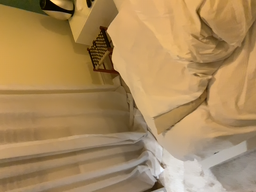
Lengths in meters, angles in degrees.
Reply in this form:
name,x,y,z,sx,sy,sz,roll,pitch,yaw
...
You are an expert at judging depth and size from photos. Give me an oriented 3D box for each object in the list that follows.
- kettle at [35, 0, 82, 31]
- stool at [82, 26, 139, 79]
name,x,y,z,sx,sy,sz,roll,pitch,yaw
kettle,-0.750,-0.930,2.280,0.240,0.390,0.290,-45,55,41
stool,-0.190,-0.430,2.190,0.350,0.390,0.330,-44,56,42
